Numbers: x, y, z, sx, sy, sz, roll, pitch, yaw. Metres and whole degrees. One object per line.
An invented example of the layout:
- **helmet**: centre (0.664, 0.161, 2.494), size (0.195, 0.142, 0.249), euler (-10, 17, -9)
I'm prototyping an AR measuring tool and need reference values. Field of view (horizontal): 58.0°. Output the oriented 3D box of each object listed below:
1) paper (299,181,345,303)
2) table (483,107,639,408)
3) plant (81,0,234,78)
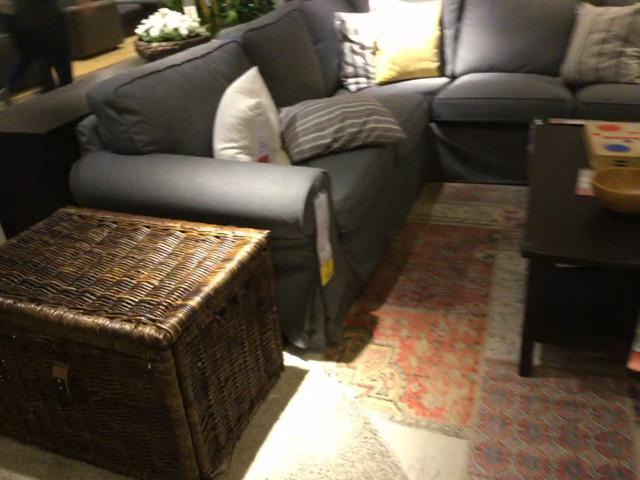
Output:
- **paper**: centre (0.010, 0.010, 1.750), size (0.080, 0.370, 0.080), euler (7, 29, 23)
- **table**: centre (1.050, -0.030, 1.910), size (0.800, 0.510, 1.140), euler (7, 29, 23)
- **plant**: centre (-0.700, -0.920, 2.580), size (0.390, 0.280, 0.500), euler (7, 29, 23)
